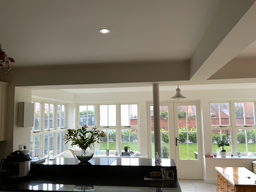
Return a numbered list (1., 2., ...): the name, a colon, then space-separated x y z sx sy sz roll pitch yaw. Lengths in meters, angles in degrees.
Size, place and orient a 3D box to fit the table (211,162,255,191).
1. table: 2.050 1.650 3.980 0.600 0.540 1.190 -2 -5 6
